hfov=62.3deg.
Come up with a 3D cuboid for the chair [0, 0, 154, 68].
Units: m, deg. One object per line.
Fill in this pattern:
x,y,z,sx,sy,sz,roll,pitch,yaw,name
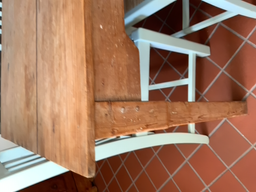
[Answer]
-0.340,-0.470,1.220,0.470,0.880,0.470,-6,86,50,chair
